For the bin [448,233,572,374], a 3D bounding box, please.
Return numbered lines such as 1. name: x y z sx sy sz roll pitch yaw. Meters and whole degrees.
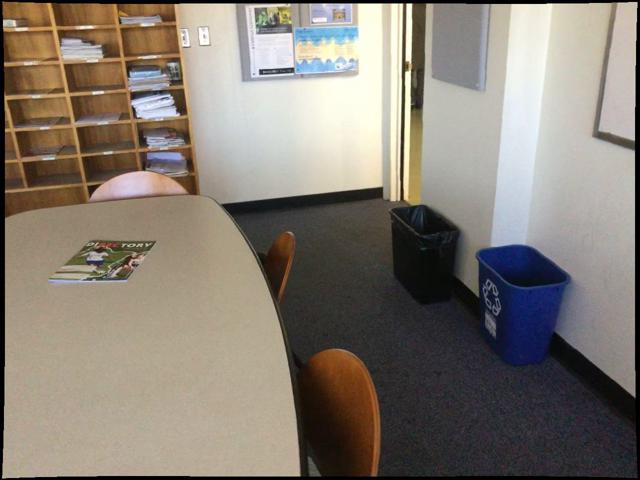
1. bin: 0.778 0.251 2.440 0.269 0.401 0.440 -6 24 -13
